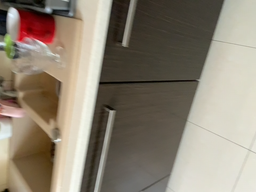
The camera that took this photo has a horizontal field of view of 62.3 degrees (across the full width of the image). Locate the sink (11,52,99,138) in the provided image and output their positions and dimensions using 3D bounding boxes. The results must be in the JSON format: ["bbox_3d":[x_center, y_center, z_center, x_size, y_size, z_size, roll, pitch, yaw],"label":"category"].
[{"bbox_3d":[-0.320,-0.030,0.870,0.410,0.150,0.200,27,112,39],"label":"sink"}]

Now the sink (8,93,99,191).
[{"bbox_3d":[-0.360,0.220,0.960,0.410,0.190,0.340,27,112,39],"label":"sink"}]

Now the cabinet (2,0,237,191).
[{"bbox_3d":[-0.110,0.190,1.190,0.570,0.870,1.670,27,112,39],"label":"cabinet"}]
